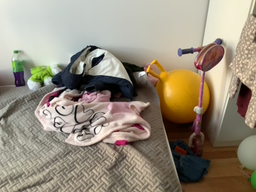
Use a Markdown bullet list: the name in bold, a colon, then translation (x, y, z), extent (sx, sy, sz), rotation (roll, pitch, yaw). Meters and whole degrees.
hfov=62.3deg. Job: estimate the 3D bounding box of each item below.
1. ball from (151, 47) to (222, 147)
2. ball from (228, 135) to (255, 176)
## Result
- **ball**: translation (0.370, 0.000, 1.550), extent (0.320, 0.550, 0.460), rotation (-4, 35, -2)
- **ball**: translation (0.770, 0.360, 1.280), extent (0.230, 0.180, 0.160), rotation (0, 36, 4)
